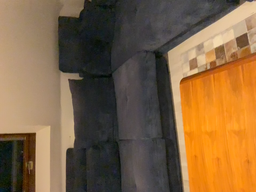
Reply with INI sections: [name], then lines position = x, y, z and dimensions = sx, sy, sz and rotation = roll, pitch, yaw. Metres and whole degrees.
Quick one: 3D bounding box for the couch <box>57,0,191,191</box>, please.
[couch]
position = -0.190, 0.110, 2.420
dimensions = 1.160, 1.010, 3.090
rotation = -25, 67, 61
